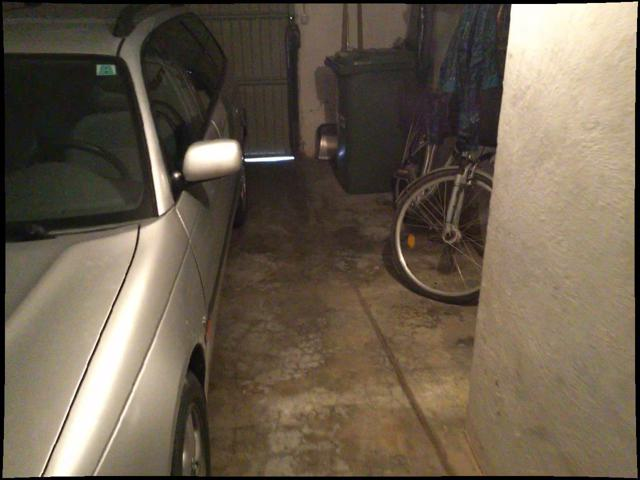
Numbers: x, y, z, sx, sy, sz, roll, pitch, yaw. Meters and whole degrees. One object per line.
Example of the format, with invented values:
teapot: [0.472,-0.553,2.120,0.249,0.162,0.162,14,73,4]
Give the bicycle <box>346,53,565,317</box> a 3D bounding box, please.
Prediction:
bicycle: [0.629,-0.470,3.430,0.649,0.961,1.790,-5,26,-5]

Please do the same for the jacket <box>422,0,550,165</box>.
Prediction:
jacket: [0.739,-0.941,2.670,0.370,1.041,0.530,-5,26,-5]
